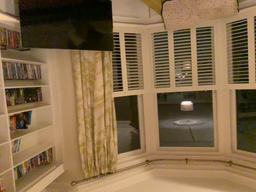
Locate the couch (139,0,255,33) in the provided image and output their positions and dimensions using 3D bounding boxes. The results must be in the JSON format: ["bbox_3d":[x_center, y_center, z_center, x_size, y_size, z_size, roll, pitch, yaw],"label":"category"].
[{"bbox_3d":[0.870,-1.400,2.660,1.200,0.860,0.970,-1,-175,26],"label":"couch"}]
